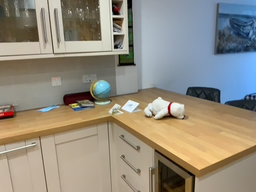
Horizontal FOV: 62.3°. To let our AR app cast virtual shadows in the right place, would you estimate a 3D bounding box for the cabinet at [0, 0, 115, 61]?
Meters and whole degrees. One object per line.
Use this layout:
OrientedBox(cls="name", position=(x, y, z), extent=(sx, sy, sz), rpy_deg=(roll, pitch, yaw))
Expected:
OrientedBox(cls="cabinet", position=(-0.650, -0.710, 1.670), extent=(1.010, 0.790, 0.330), rpy_deg=(-10, 16, -29))
